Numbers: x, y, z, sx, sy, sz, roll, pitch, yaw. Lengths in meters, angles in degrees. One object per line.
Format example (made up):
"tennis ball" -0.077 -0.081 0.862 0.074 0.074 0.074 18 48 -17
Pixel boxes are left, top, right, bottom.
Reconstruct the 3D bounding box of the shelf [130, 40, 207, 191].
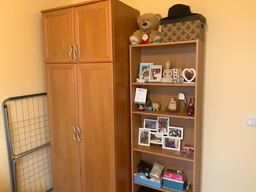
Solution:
"shelf" 0.360 0.390 2.020 0.630 1.730 0.260 4 9 28

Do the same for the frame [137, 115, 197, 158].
"frame" 0.360 0.370 2.040 0.550 0.310 0.120 4 9 27
